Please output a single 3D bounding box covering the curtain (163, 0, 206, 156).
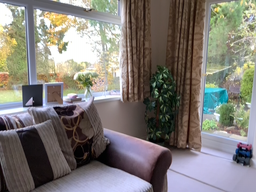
[{"bbox_3d":[0.710,-0.370,2.700,0.180,2.230,0.370,-7,12,-43],"label":"curtain"}]
